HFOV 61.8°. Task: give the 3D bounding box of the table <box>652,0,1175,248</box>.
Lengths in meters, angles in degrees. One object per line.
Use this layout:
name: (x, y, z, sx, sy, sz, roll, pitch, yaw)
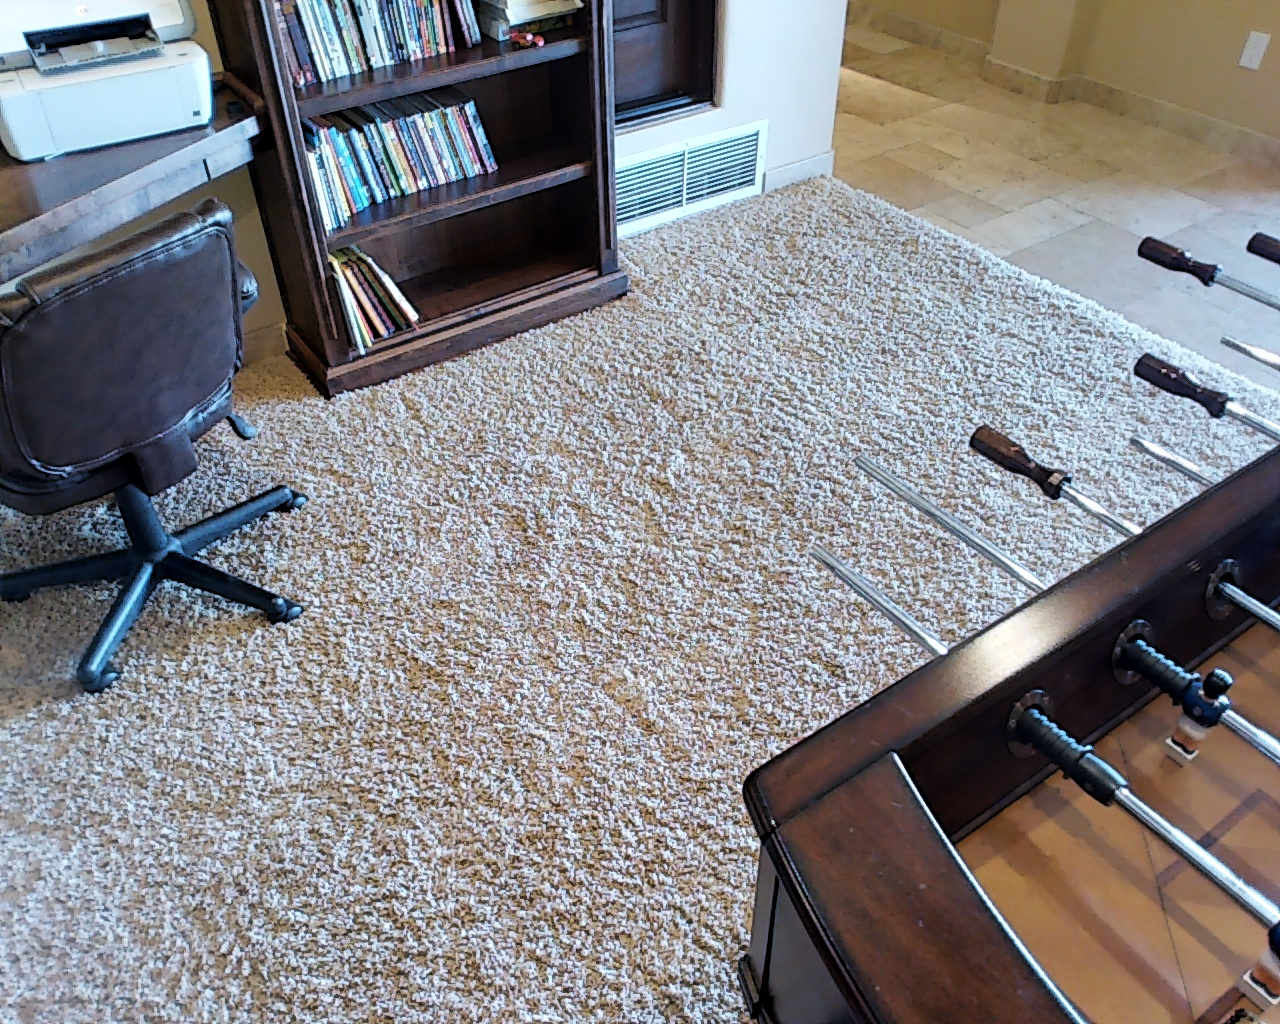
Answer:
table: (1.020, -1.809, 3.920, 1.740, 0.940, 0.920, -25, 46, -26)
